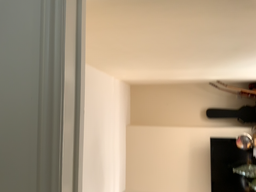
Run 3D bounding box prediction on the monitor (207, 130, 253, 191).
[{"bbox_3d":[1.540,1.030,3.210,0.040,0.600,0.960,20,-106,-80],"label":"monitor"}]
